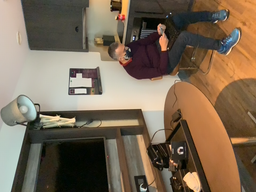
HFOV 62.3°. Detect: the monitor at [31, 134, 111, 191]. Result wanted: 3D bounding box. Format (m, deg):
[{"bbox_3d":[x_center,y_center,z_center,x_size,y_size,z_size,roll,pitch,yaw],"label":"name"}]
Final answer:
[{"bbox_3d":[-0.400,0.660,1.520,0.920,0.540,0.040,-104,18,-47],"label":"monitor"}]
